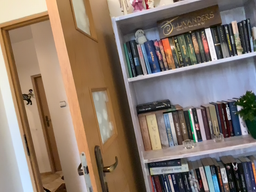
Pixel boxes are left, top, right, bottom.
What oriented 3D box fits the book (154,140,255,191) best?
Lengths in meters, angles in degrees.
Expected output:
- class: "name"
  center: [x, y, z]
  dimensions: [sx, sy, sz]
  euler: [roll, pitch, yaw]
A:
- class: "book"
  center: [0.590, 0.490, 1.310]
  dimensions: [0.810, 0.260, 0.360]
  euler: [-11, 2, 9]
